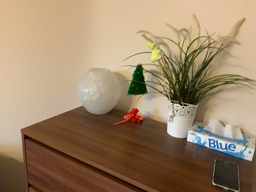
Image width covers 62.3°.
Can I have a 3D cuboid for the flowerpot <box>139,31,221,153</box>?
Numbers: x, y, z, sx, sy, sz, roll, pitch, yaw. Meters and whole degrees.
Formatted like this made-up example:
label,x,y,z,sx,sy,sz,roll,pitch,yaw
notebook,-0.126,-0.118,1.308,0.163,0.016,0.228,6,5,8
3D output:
label,x,y,z,sx,sy,sz,roll,pitch,yaw
flowerpot,0.200,-0.030,0.840,0.210,0.410,0.190,15,19,28
